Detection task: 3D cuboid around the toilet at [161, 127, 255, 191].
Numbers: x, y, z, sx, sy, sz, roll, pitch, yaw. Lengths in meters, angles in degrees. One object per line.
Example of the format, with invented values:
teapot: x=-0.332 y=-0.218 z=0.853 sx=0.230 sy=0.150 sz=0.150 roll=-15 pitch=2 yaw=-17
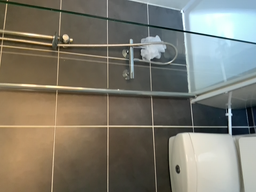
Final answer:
toilet: x=0.720 y=0.390 z=1.170 sx=0.710 sy=0.810 sz=0.390 roll=149 pitch=122 yaw=-67
